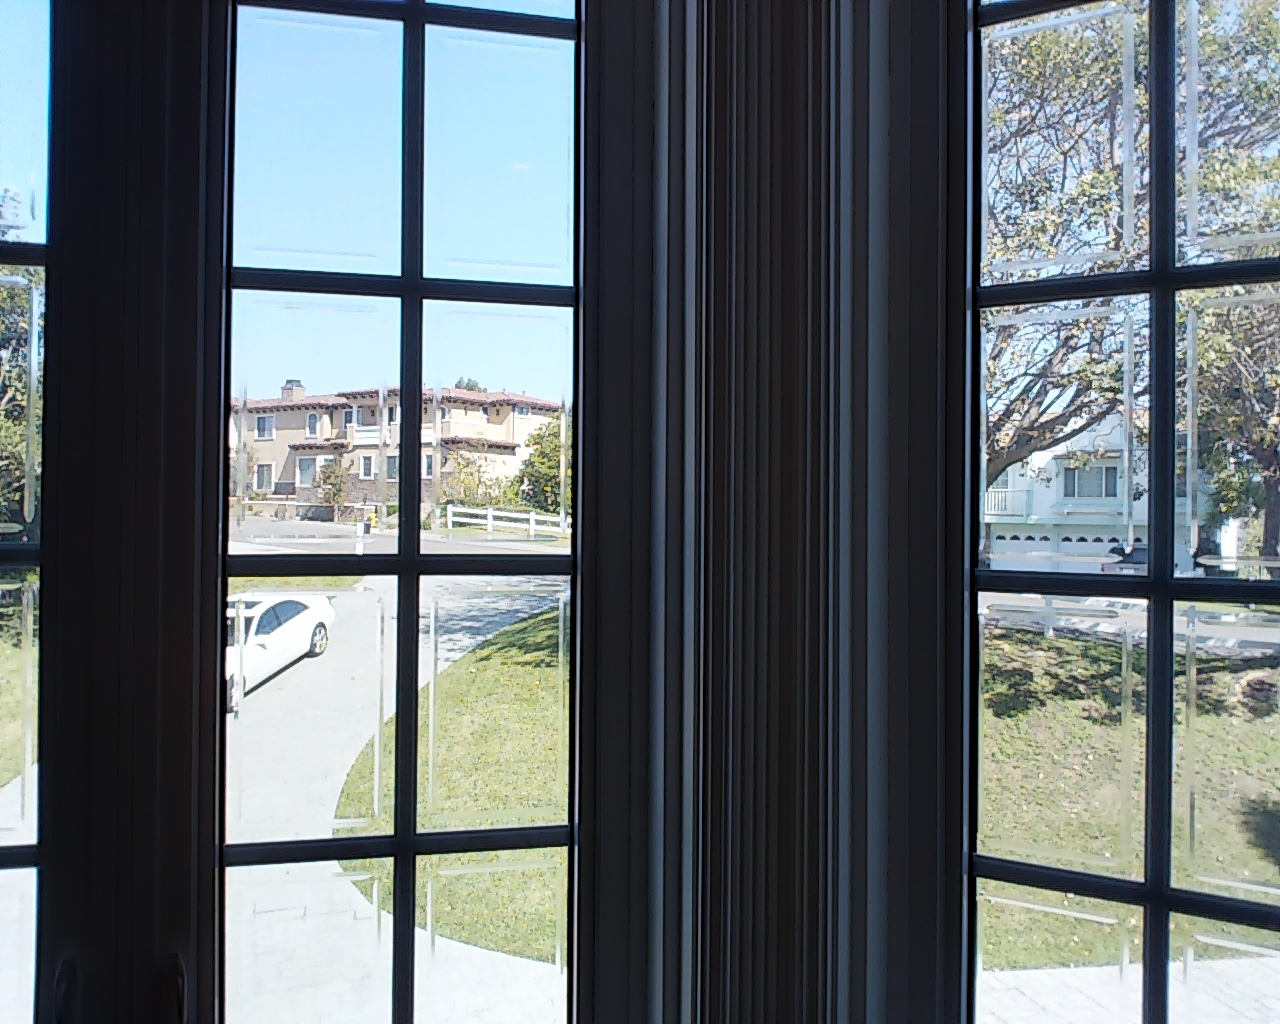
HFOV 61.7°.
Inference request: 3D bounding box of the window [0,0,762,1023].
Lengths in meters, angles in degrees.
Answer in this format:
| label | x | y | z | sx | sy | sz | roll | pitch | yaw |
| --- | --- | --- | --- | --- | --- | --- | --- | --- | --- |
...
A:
| label | x | y | z | sx | sy | sz | roll | pitch | yaw |
| --- | --- | --- | --- | --- | --- | --- | --- | --- | --- |
| window | -0.490 | -0.030 | 1.070 | 1.220 | 1.770 | 0.170 | 1 | 0 | -13 |
